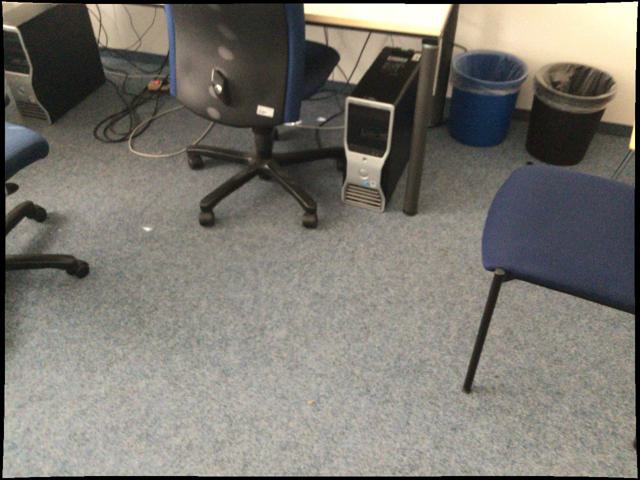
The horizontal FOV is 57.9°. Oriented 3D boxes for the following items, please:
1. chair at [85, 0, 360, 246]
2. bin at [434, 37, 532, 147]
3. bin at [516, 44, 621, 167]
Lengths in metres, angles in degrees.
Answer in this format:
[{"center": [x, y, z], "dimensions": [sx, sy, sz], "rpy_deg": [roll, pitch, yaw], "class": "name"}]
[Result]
[{"center": [-0.260, -0.571, 1.970], "dimensions": [0.639, 0.900, 0.600], "rpy_deg": [12, 45, 13], "class": "chair"}, {"center": [0.689, -0.631, 2.450], "dimensions": [0.320, 0.300, 0.310], "rpy_deg": [12, 45, 13], "class": "bin"}, {"center": [0.999, -0.551, 2.350], "dimensions": [0.300, 0.320, 0.340], "rpy_deg": [12, 45, 13], "class": "bin"}]
